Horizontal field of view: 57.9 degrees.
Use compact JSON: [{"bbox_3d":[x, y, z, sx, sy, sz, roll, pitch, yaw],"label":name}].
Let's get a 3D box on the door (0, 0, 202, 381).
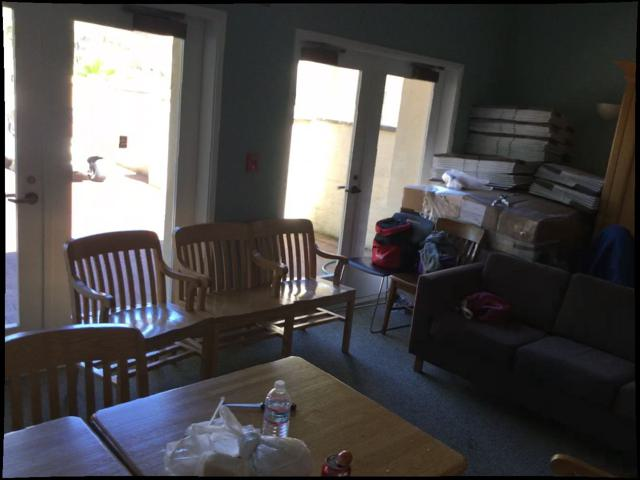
[{"bbox_3d":[-1.469,-0.250,3.010,1.769,1.912,0.240,-9,20,-42],"label":"door"}]
